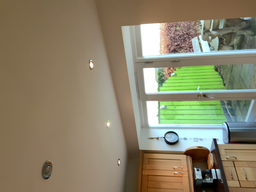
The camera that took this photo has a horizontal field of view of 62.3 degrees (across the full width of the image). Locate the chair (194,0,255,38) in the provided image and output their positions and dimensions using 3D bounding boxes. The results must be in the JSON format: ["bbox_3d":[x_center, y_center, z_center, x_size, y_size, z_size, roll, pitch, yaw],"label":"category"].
[{"bbox_3d":[1.830,-1.720,4.060,0.720,0.920,0.920,-80,-14,-52],"label":"chair"}]

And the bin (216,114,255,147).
[{"bbox_3d":[1.930,0.580,3.600,0.430,0.680,0.330,-82,-12,-45],"label":"bin"}]
